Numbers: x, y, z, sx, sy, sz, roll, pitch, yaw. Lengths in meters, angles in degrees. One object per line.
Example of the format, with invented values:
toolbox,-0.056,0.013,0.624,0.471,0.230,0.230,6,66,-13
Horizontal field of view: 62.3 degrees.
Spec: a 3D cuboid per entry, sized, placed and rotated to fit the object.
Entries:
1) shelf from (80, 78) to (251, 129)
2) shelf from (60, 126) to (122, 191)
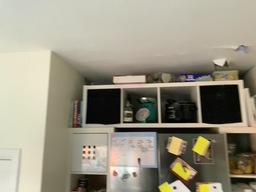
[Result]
shelf,0.330,0.120,2.190,1.470,0.410,0.620,-1,-11,7
shelf,-0.330,1.220,2.040,0.420,1.820,0.680,-1,-11,7
